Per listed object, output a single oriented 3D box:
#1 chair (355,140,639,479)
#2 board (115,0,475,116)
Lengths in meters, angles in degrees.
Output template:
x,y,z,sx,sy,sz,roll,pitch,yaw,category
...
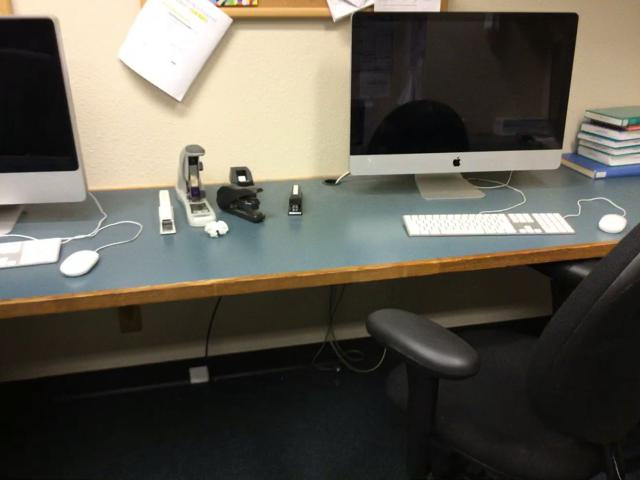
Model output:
x,y,z,sx,sy,sz,roll,pitch,yaw,category
0.460,0.330,1.310,0.550,1.010,0.570,-6,19,-20,chair
-0.050,-0.810,1.620,1.010,0.880,0.140,-4,18,-13,board
